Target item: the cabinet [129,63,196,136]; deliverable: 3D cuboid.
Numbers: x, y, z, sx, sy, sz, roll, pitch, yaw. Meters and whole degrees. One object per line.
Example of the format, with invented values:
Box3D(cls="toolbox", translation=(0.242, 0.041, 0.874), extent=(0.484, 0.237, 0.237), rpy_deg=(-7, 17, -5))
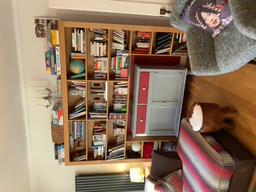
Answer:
Box3D(cls="cabinet", translation=(0.530, 0.050, 3.560), extent=(0.460, 0.900, 1.120), rpy_deg=(-118, 30, -70))
